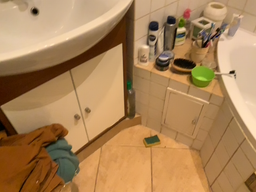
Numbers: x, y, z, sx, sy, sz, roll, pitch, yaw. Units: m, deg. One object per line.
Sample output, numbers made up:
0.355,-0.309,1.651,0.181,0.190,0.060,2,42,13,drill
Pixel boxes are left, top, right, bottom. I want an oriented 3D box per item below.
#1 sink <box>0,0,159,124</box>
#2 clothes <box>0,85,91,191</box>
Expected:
-0.280,-0.250,0.780,0.670,0.160,0.440,-35,56,-28,sink
-0.370,0.210,0.760,0.300,0.270,0.320,35,56,28,clothes
